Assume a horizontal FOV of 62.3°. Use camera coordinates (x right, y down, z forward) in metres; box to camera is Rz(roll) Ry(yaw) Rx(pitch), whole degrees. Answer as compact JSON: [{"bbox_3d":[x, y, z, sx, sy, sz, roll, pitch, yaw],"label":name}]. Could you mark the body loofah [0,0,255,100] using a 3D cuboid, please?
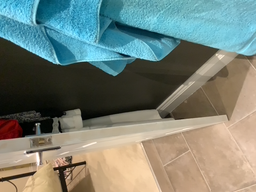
[{"bbox_3d":[0.240,-0.300,0.540,0.970,1.240,0.090,-49,54,42],"label":"body loofah"}]
